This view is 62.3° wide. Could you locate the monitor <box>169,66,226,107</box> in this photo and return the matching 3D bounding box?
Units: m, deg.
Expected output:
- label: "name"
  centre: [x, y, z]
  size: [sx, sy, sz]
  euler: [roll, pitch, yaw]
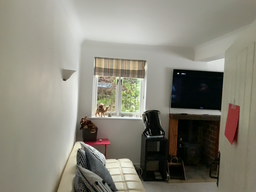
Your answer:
- label: "monitor"
  centre: [1.410, -0.180, 4.290]
  size: [1.140, 0.770, 0.060]
  euler: [3, 3, -6]
